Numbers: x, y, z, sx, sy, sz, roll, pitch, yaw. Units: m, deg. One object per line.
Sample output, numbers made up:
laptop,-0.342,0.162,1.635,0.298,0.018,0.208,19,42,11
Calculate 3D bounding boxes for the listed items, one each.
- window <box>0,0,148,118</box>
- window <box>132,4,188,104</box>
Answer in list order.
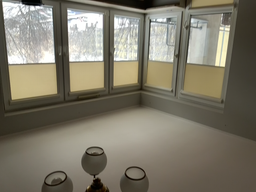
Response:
window,-0.650,-0.690,3.380,2.500,1.600,0.200,-10,-162,-41
window,0.520,-0.740,3.810,0.250,1.570,0.960,-10,-162,-40
